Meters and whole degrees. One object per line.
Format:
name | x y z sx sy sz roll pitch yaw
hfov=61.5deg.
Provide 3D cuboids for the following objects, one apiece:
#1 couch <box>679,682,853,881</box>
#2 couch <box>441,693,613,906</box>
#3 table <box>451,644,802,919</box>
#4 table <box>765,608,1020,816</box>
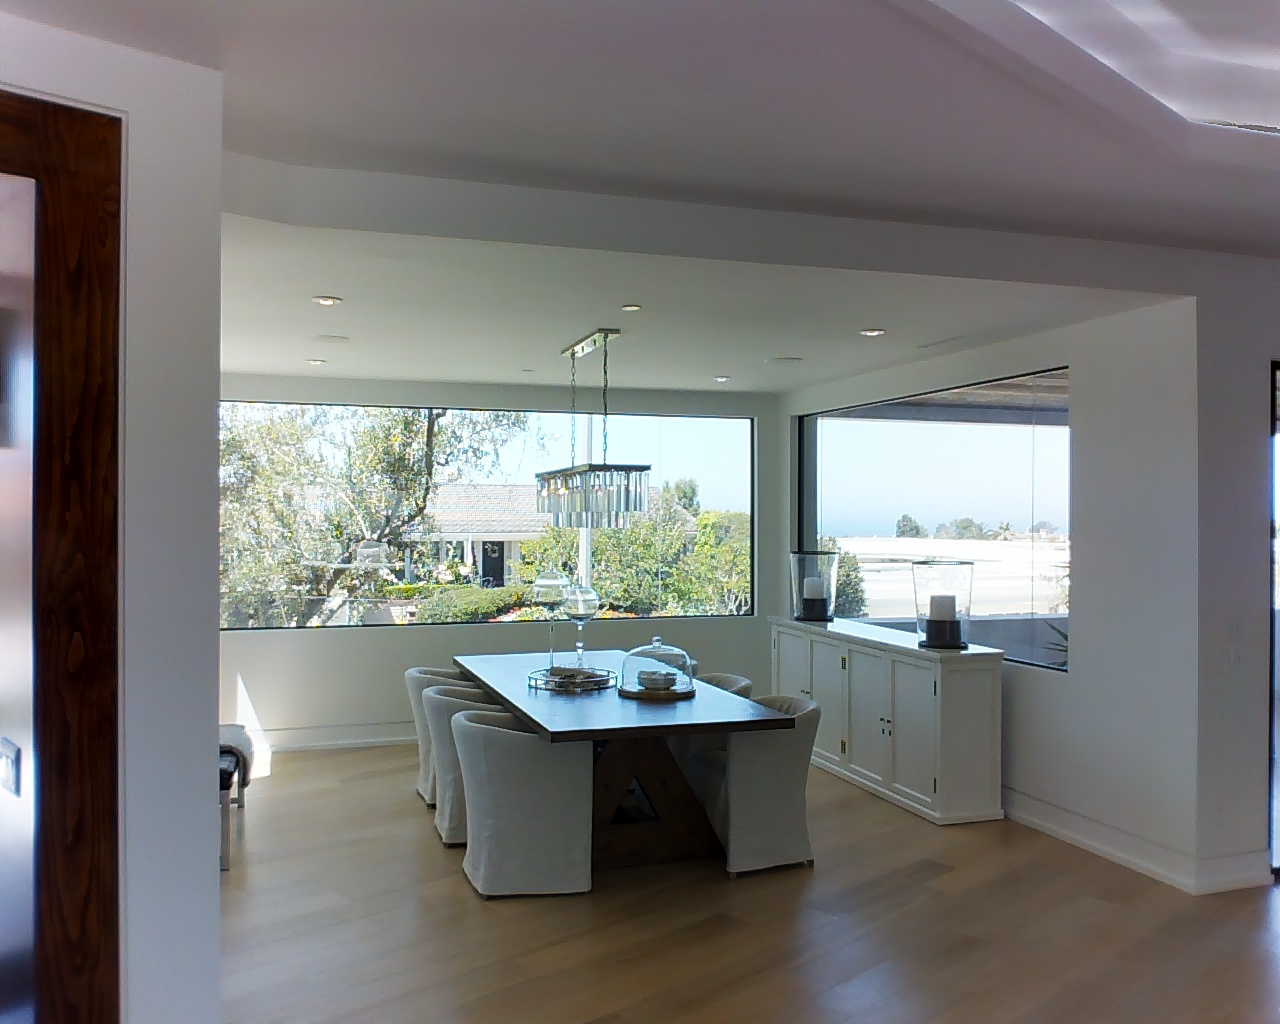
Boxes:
couch | 0.600 1.280 5.260 0.630 0.770 0.650 0 0 -18
couch | -0.530 1.270 4.900 0.670 0.760 0.620 0 0 -18
table | -0.240 1.270 5.790 1.160 0.780 2.580 0 0 -18
table | 1.500 1.170 6.880 0.490 0.910 2.230 0 0 -18
